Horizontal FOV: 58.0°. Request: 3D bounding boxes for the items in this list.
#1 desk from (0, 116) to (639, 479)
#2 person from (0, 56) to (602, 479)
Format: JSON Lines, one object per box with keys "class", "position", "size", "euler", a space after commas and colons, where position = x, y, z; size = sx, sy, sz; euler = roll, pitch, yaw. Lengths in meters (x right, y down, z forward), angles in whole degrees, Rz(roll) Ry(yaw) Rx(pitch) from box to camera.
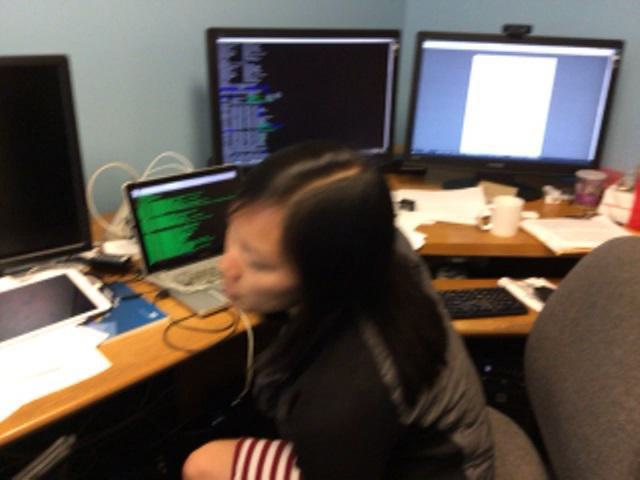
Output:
{"class": "desk", "position": [-0.200, 0.470, 1.260], "size": [1.580, 0.830, 3.070], "euler": [22, 31, 39]}
{"class": "person", "position": [-0.100, 0.340, 1.050], "size": [0.850, 1.220, 0.360], "euler": [8, 25, 16]}
